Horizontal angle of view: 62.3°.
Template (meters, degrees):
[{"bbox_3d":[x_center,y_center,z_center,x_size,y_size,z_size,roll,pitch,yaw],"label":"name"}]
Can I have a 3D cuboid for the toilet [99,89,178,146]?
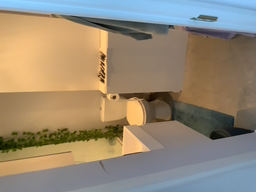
[{"bbox_3d":[0.090,0.220,2.650,0.690,0.740,0.450,-148,59,-63],"label":"toilet"}]

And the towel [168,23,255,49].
[{"bbox_3d":[0.620,-0.430,1.520,0.340,0.550,0.120,-139,50,-60],"label":"towel"}]

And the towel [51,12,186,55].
[{"bbox_3d":[-0.080,-0.380,1.280,0.430,0.700,0.150,-135,47,-58],"label":"towel"}]
